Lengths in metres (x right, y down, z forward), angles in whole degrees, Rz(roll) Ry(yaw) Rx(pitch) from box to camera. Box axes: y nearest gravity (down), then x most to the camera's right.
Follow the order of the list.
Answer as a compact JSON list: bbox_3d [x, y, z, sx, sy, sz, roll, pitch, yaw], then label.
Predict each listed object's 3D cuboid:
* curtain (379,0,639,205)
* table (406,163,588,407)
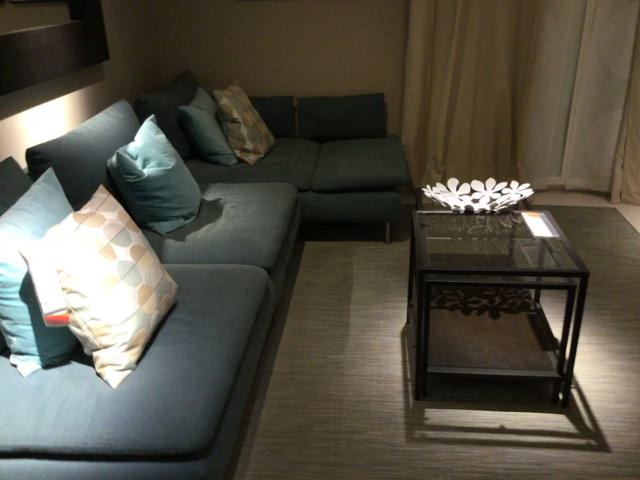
[{"bbox_3d":[1.460,-1.100,3.210,2.200,1.670,0.380,-2,22,10],"label":"curtain"},{"bbox_3d":[0.600,0.110,2.210,0.510,0.540,0.940,-2,22,10],"label":"table"}]
